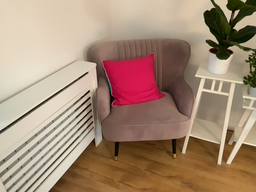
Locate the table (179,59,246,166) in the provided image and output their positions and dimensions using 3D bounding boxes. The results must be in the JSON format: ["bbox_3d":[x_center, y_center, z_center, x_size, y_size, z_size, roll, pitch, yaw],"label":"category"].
[{"bbox_3d":[0.710,0.140,1.850,0.360,0.790,0.400,11,32,19],"label":"table"}]

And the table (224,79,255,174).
[{"bbox_3d":[1.220,0.290,1.720,0.690,0.660,0.390,11,32,19],"label":"table"}]
